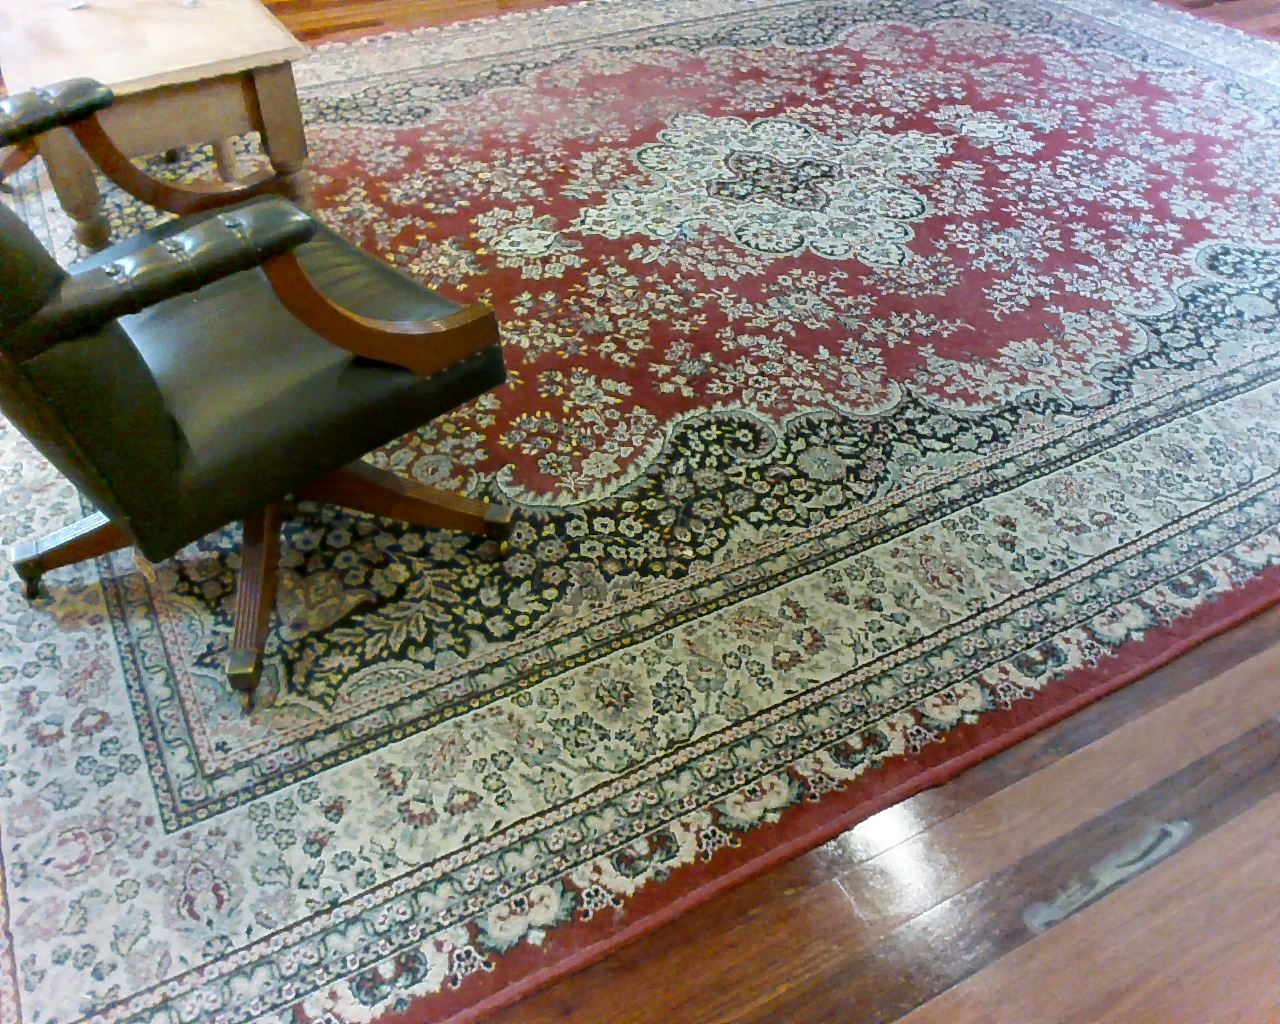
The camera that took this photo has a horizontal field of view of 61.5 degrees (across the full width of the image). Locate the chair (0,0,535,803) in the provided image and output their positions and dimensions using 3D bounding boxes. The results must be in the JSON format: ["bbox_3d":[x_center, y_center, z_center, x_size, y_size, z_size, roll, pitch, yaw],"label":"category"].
[{"bbox_3d":[-0.620,-0.290,1.350,0.700,0.930,0.590,-29,50,-29],"label":"chair"}]
